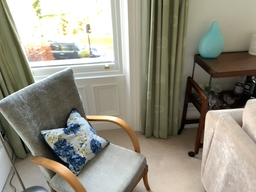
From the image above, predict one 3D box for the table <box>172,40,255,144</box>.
[{"bbox_3d":[0.870,-0.030,2.040,0.700,0.860,0.410,-5,32,-6],"label":"table"}]
